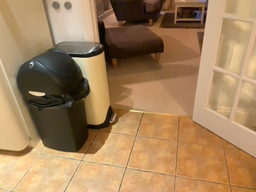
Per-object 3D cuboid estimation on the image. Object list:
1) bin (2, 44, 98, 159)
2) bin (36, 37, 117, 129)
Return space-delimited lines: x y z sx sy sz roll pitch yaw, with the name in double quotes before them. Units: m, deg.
"bin" -0.480 0.040 1.460 0.380 0.690 0.310 6 32 14
"bin" -0.370 -0.110 1.720 0.450 0.640 0.320 6 32 13
